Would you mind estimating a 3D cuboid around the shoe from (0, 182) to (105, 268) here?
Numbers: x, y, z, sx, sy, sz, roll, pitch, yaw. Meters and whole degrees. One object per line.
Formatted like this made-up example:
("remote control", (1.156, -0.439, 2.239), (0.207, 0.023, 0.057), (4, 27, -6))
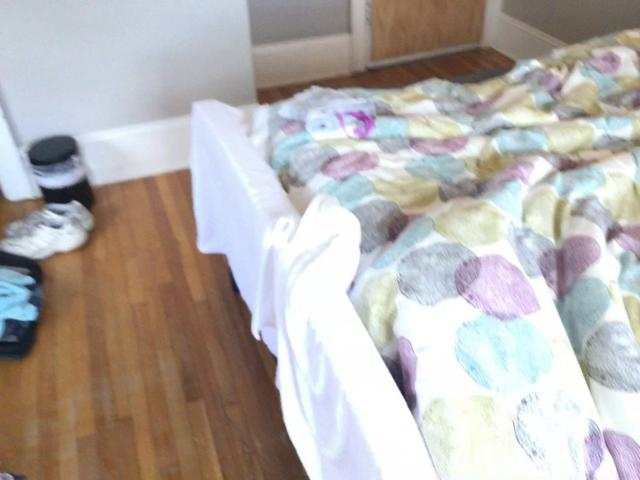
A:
("shoe", (-1.090, -0.070, 2.340), (0.380, 0.120, 0.300), (-14, 39, -15))
